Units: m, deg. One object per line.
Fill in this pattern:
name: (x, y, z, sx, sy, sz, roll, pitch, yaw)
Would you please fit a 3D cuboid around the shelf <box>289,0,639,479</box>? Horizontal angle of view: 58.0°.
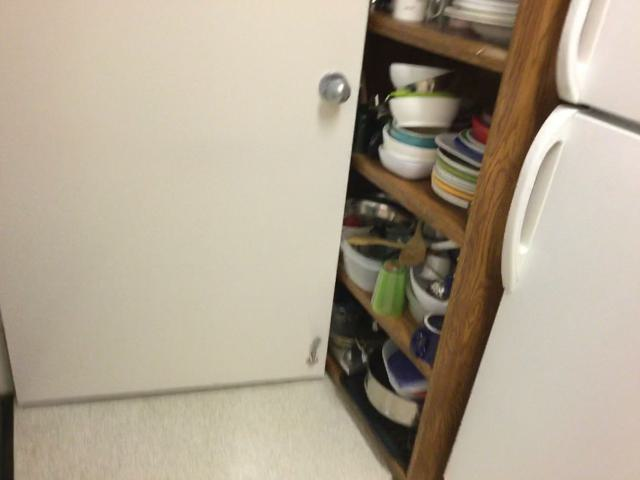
shelf: (0.280, -0.170, 1.510, 0.370, 1.480, 0.780, -8, 32, -23)
